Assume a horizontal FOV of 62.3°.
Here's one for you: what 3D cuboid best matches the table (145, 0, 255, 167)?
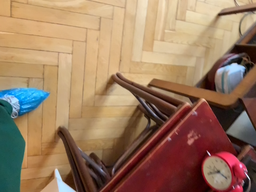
[{"bbox_3d":[0.600,-0.130,1.150,0.710,0.580,0.450,-45,117,-9],"label":"table"}]
